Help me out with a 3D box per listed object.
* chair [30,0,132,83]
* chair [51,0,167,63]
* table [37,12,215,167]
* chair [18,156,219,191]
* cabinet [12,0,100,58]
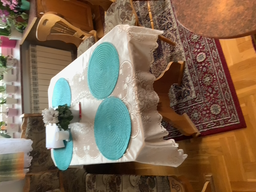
[{"bbox_3d":[-0.460,-0.480,2.160,0.430,0.860,0.520,-23,71,45],"label":"chair"},{"bbox_3d":[-0.140,-0.670,1.820,0.440,0.870,0.520,-17,75,46],"label":"chair"},{"bbox_3d":[-0.150,0.110,1.860,1.360,0.750,0.820,-22,72,45],"label":"table"},{"bbox_3d":[-0.240,0.970,1.860,1.810,0.830,0.580,-24,70,44],"label":"chair"},{"bbox_3d":[-0.960,-0.940,2.810,0.740,0.850,0.450,-24,70,45],"label":"cabinet"}]
